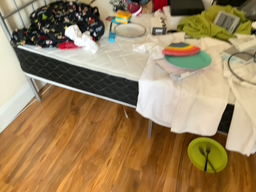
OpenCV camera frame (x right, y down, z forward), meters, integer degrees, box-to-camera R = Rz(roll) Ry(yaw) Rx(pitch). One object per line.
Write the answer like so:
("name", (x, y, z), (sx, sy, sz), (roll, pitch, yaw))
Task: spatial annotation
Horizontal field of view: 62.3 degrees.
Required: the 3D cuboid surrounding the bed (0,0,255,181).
("bed", (0.350, -0.380, 1.710), (2.070, 0.640, 1.470), (15, 48, 14))
